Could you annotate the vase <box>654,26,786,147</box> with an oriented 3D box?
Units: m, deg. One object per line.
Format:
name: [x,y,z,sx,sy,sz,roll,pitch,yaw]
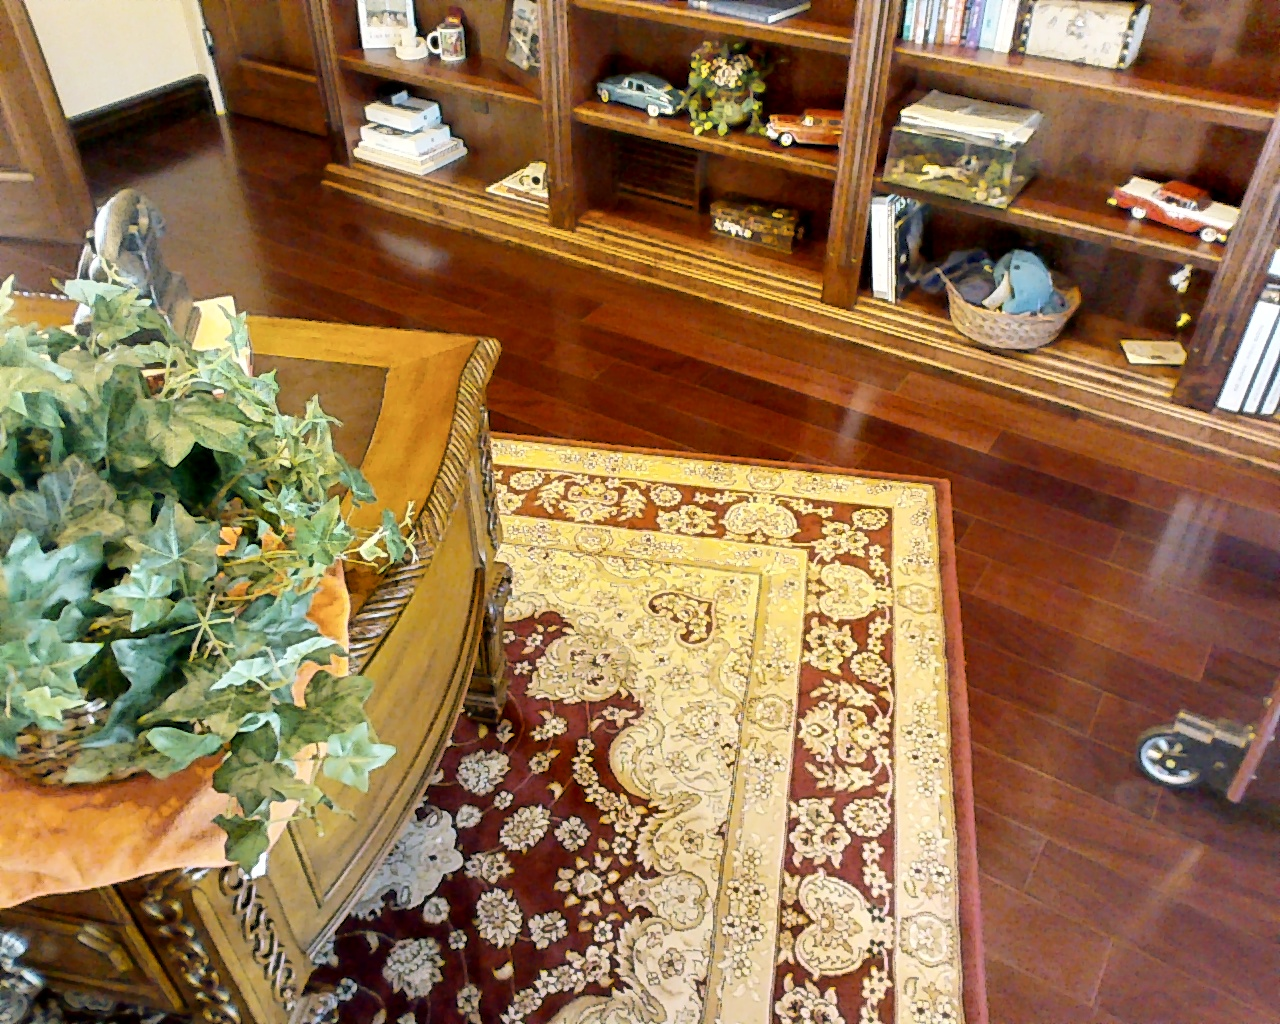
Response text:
vase: [0.220,-1.190,2.980,0.290,0.220,0.210,23,45,26]

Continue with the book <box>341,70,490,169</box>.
book: [-0.770,-1.359,3.690,0.430,0.190,0.240,21,44,24]
